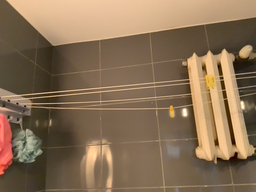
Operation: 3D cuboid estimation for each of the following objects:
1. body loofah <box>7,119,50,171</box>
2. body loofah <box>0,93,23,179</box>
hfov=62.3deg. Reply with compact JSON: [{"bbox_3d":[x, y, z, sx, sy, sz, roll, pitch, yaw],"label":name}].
[{"bbox_3d":[-0.500,0.250,1.080,0.130,0.240,0.120,-8,-17,17],"label":"body loofah"},{"bbox_3d":[-0.570,0.180,0.950,0.060,0.360,0.160,-7,-17,14],"label":"body loofah"}]
